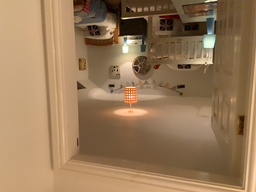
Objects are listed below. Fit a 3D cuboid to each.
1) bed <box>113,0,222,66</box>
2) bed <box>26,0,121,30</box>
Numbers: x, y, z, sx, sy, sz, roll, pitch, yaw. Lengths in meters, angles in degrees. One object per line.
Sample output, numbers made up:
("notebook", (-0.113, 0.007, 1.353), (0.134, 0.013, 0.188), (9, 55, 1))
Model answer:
("bed", (0.880, -1.350, 4.090), (1.570, 1.490, 2.230), (3, -171, 20))
("bed", (-1.070, -1.950, 4.800), (1.100, 0.540, 2.080), (3, -171, 20))
